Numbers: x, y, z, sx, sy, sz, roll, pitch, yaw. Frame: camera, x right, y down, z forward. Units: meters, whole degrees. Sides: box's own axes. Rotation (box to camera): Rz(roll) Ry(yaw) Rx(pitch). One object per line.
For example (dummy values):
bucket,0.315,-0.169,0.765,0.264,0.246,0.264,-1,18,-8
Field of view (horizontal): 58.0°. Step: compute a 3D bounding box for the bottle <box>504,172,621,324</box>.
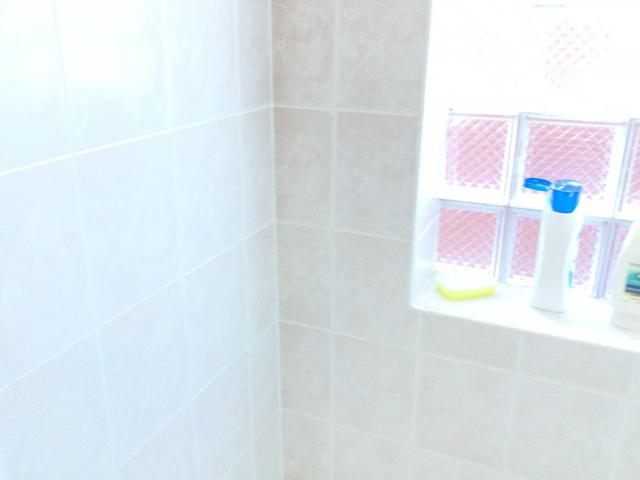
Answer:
bottle,0.480,0.010,1.150,0.170,0.250,0.130,10,23,24
